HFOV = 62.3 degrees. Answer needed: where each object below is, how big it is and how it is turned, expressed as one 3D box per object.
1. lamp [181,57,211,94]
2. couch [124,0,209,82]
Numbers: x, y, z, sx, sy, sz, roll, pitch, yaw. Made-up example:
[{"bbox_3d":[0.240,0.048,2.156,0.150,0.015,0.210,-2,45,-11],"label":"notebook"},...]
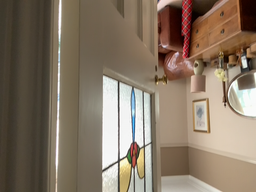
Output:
[{"bbox_3d":[0.940,-0.270,2.940,0.270,0.460,0.280,2,175,-16],"label":"lamp"},{"bbox_3d":[0.580,-0.780,3.460,0.910,0.900,1.030,3,174,-29],"label":"couch"}]
